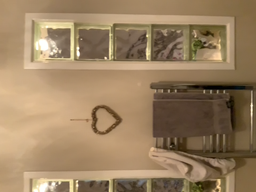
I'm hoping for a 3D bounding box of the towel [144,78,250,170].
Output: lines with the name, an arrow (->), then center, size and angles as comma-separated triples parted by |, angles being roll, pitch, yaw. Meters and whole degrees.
towel -> 0.400, 0.160, 1.280 | 0.150, 0.580, 0.520 | -152, 62, -86
